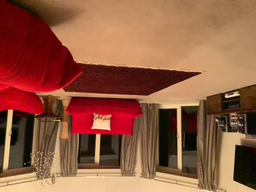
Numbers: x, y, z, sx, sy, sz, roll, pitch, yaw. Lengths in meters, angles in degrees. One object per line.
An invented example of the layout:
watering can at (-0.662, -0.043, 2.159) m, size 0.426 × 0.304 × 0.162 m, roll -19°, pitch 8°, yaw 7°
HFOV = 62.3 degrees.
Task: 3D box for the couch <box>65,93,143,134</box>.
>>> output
couch at (-0.540, 0.430, 4.950) m, size 1.610 × 0.830 × 1.050 m, roll 2°, pitch 173°, yaw -7°
